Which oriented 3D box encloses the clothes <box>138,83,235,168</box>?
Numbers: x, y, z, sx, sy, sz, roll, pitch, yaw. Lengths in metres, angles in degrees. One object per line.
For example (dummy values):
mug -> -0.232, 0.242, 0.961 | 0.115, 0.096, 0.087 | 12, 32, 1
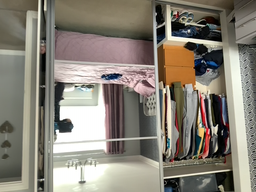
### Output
clothes -> 0.680, 0.320, 2.530 | 1.030, 0.880, 0.360 | 0, 174, -17
